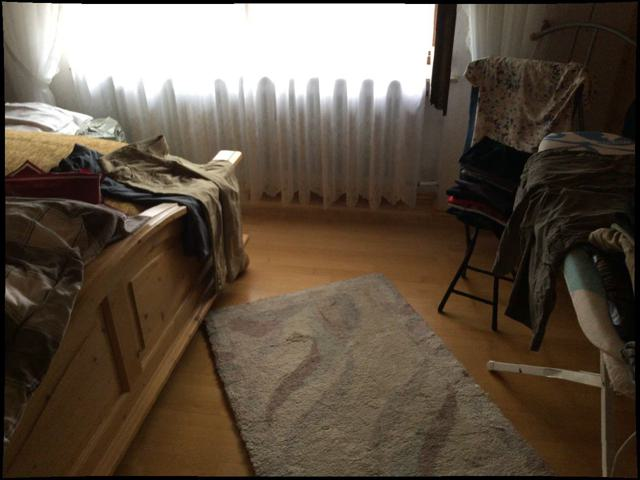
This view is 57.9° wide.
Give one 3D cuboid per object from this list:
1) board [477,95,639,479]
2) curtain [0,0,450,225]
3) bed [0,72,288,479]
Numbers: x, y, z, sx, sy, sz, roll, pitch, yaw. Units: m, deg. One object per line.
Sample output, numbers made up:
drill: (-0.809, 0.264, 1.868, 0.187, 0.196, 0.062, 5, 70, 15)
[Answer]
board: (0.719, 0.310, 1.440, 0.480, 0.901, 1.430, 4, 32, 10)
curtain: (-0.619, -1.271, 2.640, 2.398, 2.442, 0.260, 4, 32, 10)
bed: (-1.508, 0.170, 1.960, 2.268, 0.801, 2.401, 4, 32, 10)
